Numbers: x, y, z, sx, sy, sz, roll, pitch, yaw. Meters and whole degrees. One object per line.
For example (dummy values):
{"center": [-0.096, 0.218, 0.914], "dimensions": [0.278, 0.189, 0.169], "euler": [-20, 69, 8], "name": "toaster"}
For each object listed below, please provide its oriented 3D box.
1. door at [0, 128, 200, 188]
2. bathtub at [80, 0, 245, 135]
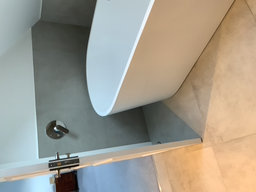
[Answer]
{"center": [-0.540, 0.490, 1.440], "dimensions": [0.940, 1.900, 0.070], "euler": [-45, 53, 55], "name": "door"}
{"center": [0.160, -0.560, 1.540], "dimensions": [0.780, 0.580, 1.690], "euler": [64, 145, 37], "name": "bathtub"}
